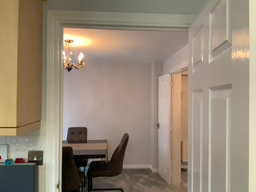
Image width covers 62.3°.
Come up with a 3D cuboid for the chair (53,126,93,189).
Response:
[{"bbox_3d":[-0.980,1.080,3.880,0.560,0.950,0.640,1,0,-1],"label":"chair"}]

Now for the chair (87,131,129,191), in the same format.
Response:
[{"bbox_3d":[-0.330,1.090,3.420,0.620,0.950,0.570,1,0,-8],"label":"chair"}]

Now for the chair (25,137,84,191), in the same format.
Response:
[{"bbox_3d":[-0.920,1.070,2.780,0.560,0.950,0.640,1,0,-3],"label":"chair"}]
